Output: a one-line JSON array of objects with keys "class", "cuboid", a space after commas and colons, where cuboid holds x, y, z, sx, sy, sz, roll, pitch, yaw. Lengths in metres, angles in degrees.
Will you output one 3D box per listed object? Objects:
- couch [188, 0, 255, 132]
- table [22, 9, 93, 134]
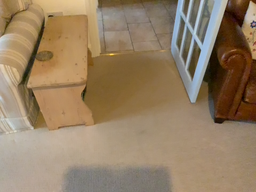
[{"class": "couch", "cuboid": [1.160, -0.370, 1.760, 1.060, 0.770, 1.110, 5, 45, 5]}, {"class": "table", "cuboid": [-0.510, -0.270, 1.810, 0.360, 0.510, 1.030, -5, 45, -5]}]
